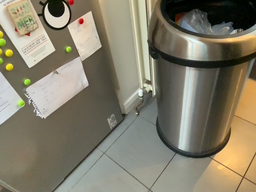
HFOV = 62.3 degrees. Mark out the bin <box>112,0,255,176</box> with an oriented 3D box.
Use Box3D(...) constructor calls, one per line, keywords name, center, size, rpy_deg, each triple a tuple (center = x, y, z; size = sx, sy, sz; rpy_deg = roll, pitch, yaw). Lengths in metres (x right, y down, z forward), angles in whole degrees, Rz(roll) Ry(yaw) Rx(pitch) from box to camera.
Box3D(name="bin", center=(0.280, -0.070, 0.910), size=(0.410, 0.670, 0.410), rpy_deg=(32, 61, 31))
